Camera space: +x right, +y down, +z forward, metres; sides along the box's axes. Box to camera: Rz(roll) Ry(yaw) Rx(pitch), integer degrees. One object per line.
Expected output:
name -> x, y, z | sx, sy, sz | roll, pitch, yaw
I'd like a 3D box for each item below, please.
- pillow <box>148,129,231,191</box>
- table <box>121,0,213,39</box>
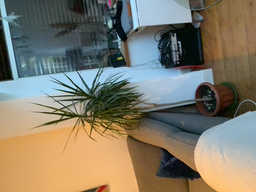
pillow -> 0.470, 0.610, 1.850 | 0.710, 0.300, 0.380 | 113, 143, -60
table -> 0.360, -1.040, 2.180 | 0.400, 0.790, 0.730 | -178, 78, -72
